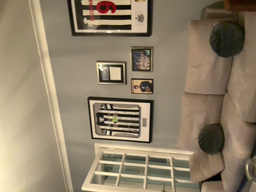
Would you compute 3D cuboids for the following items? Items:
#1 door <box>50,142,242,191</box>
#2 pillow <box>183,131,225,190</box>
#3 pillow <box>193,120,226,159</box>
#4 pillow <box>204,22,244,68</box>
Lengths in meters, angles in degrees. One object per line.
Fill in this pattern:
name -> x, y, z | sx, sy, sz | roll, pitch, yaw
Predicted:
door -> 0.240, 1.010, 2.860 | 0.880, 2.270, 0.100 | -71, -17, -66
pillow -> 0.880, 0.750, 2.500 | 0.190, 0.470, 0.440 | -39, 16, 30
pillow -> 0.930, 0.500, 2.470 | 0.270, 0.260, 0.340 | -75, -14, -60
pillow -> 0.890, -0.490, 2.010 | 0.240, 0.230, 0.380 | -73, -16, -63
